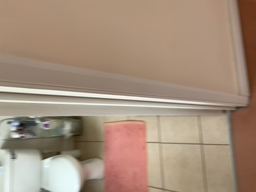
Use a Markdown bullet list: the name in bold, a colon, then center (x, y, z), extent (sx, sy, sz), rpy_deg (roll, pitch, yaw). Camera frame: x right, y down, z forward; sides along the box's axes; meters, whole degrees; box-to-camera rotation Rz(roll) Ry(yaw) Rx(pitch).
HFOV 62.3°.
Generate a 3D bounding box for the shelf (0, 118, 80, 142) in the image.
- **shelf**: center (-0.890, 0.340, 2.180), extent (0.200, 0.780, 0.190), rpy_deg (-14, 77, 43)

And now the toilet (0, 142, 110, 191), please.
- **toilet**: center (-0.710, 0.730, 1.960), extent (0.730, 0.770, 0.530), rpy_deg (-12, 78, 42)
